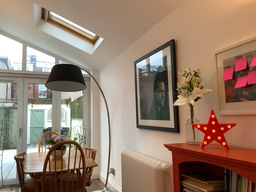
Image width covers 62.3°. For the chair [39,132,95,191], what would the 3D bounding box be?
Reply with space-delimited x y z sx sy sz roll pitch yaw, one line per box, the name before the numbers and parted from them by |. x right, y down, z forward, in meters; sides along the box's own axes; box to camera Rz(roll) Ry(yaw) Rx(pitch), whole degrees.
chair | -0.630 0.890 2.100 0.470 0.990 0.570 1 -5 -23

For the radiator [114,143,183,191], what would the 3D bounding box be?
radiator | 0.150 0.970 2.170 0.240 0.820 1.020 1 -5 -23

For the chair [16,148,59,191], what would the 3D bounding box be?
chair | -1.050 1.050 2.470 0.430 0.770 0.450 1 -5 -24
